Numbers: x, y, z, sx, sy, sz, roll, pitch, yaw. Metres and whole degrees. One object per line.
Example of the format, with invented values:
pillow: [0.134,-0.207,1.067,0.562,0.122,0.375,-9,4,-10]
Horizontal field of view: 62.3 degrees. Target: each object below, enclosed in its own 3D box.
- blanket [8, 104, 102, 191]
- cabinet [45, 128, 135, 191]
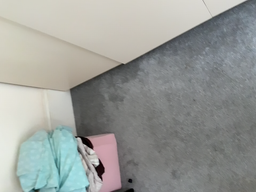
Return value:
blanket: [-0.440,0.380,1.240,0.450,0.220,0.540,-22,73,28]
cabinet: [-0.260,0.480,1.430,0.400,0.320,0.390,-28,71,27]
